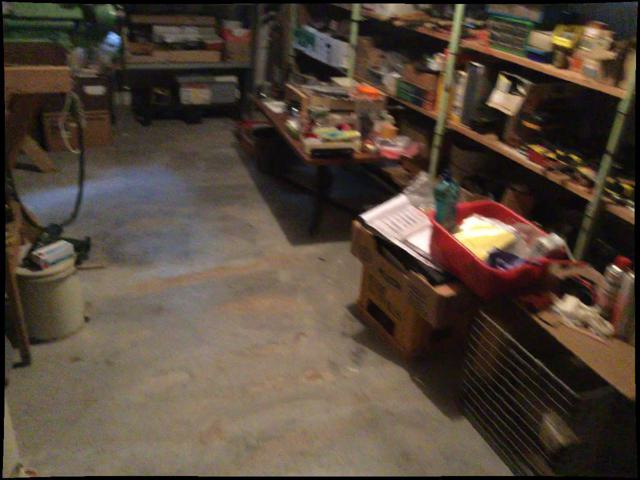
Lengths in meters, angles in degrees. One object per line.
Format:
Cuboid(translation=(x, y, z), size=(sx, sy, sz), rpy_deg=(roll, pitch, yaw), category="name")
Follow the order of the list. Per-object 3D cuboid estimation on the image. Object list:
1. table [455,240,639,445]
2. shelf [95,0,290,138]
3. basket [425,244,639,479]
Cuboid(translation=(0.859, 0.260, 1.800), size=(0.570, 0.140, 0.640), rpy_deg=(-11, 33, -25), category="table")
Cuboid(translation=(-0.969, -1.532, 4.420), size=(1.259, 1.191, 0.730), rpy_deg=(-11, 33, -25), category="shelf")
Cuboid(translation=(0.759, 0.420, 1.870), size=(0.480, 0.500, 0.630), rpy_deg=(-11, 33, -25), category="basket")
